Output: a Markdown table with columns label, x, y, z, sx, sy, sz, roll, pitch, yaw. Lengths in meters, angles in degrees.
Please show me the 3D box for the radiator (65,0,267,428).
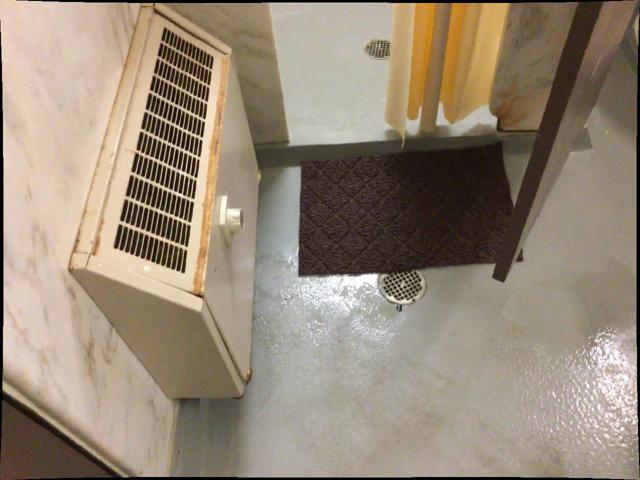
| label | x | y | z | sx | sy | sz | roll | pitch | yaw |
| --- | --- | --- | --- | --- | --- | --- | --- | --- | --- |
| radiator | -0.250 | -0.060 | 1.210 | 0.200 | 0.530 | 0.720 | -5 | 53 | 1 |
